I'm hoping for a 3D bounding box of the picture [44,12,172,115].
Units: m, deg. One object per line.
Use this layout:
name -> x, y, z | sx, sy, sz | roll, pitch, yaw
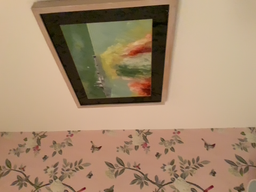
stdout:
picture -> -0.050, -0.090, 0.890 | 0.510, 0.410, 0.050 | 84, -175, -51
